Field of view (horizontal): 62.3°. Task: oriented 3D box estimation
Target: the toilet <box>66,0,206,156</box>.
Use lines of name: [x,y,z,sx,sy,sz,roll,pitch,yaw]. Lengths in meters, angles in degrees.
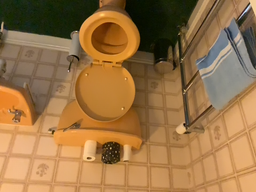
toilet: [-0.010,-0.190,1.440,0.610,0.970,0.710,6,150,-9]
